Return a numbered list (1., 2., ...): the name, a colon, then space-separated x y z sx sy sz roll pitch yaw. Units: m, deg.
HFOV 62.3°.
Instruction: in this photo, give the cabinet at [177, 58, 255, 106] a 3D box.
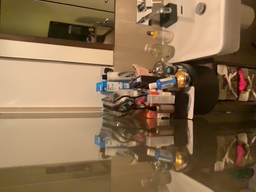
1. cabinet: 0.700 -0.070 1.350 0.310 0.700 0.240 -175 87 -68
